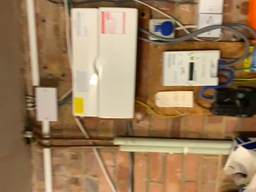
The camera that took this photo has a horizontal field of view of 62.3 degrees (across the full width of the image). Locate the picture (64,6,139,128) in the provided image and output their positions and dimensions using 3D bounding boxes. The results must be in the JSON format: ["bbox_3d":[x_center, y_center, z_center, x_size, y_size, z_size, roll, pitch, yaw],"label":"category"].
[{"bbox_3d":[-0.090,-0.100,0.780,0.100,0.250,0.410,-75,-13,-80],"label":"picture"}]
